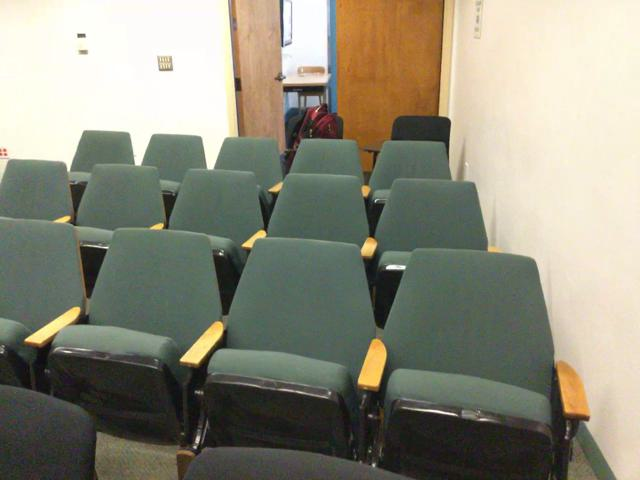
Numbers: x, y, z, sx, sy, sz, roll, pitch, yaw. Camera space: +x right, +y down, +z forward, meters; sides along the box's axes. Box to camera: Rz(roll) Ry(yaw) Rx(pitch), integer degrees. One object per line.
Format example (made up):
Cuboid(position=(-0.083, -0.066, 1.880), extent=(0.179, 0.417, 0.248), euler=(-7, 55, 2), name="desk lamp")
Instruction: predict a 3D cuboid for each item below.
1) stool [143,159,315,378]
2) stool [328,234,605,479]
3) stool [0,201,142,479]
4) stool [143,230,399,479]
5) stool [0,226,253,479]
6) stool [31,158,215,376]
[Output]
Cuboid(position=(-0.370, 0.110, 2.650), extent=(0.600, 0.880, 0.470), euler=(0, 18, 8), name="stool")
Cuboid(position=(0.400, 0.470, 1.680), extent=(0.600, 0.820, 0.580), euler=(3, 18, 15), name="stool")
Cuboid(position=(-1.020, 0.370, 1.960), extent=(0.470, 0.880, 0.600), euler=(1, 18, 11), name="stool")
Cuboid(position=(-0.080, 0.440, 1.800), extent=(0.620, 0.810, 0.560), euler=(1, 18, 10), name="stool")
Cuboid(position=(-0.590, 0.420, 1.900), extent=(0.560, 0.820, 0.510), euler=(1, 18, 9), name="stool")
Cuboid(position=(-0.870, 0.100, 2.710), extent=(0.530, 0.880, 0.520), euler=(0, 18, 9), name="stool")
